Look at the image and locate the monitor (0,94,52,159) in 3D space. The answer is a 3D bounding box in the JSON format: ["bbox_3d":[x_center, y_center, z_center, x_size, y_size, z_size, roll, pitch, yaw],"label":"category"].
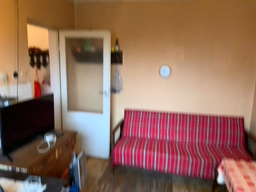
[{"bbox_3d":[-0.970,0.250,2.050,0.060,0.430,0.670,4,11,14],"label":"monitor"}]

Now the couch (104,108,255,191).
[{"bbox_3d":[0.730,0.720,3.210,1.990,0.740,0.880,4,11,11],"label":"couch"}]
